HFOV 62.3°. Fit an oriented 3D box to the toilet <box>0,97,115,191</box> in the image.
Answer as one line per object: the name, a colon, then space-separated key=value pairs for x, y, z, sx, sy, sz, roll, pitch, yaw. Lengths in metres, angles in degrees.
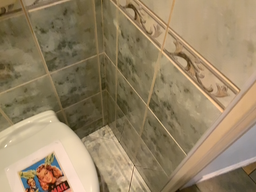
toilet: x=-0.310 y=0.390 z=0.920 sx=0.360 sy=0.460 sz=0.510 roll=-26 pitch=61 yaw=-20
